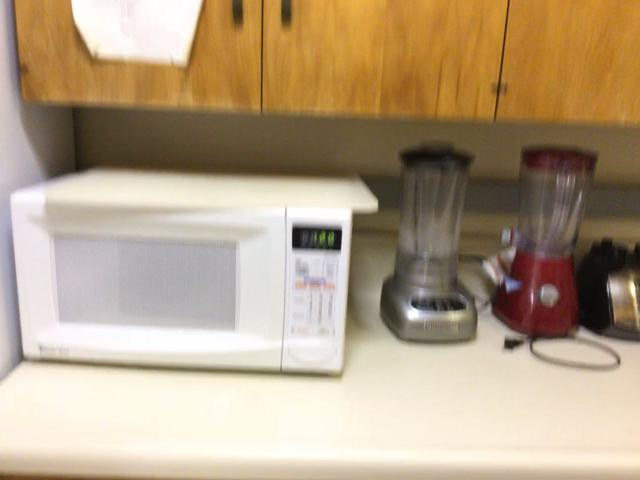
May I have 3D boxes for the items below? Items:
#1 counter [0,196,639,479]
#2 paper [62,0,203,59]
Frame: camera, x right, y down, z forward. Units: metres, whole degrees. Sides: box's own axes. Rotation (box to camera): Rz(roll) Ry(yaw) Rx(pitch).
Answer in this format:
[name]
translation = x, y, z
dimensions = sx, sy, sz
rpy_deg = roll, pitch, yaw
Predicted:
[counter]
translation = 0.850, 0.180, 1.080
dimensions = 2.720, 0.320, 0.690
rpy_deg = 2, 14, -1
[paper]
translation = -0.290, -0.430, 0.890
dimensions = 0.210, 0.280, 0.030
rpy_deg = 2, 14, -1
